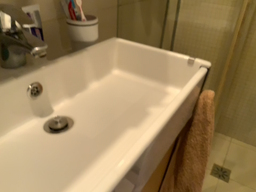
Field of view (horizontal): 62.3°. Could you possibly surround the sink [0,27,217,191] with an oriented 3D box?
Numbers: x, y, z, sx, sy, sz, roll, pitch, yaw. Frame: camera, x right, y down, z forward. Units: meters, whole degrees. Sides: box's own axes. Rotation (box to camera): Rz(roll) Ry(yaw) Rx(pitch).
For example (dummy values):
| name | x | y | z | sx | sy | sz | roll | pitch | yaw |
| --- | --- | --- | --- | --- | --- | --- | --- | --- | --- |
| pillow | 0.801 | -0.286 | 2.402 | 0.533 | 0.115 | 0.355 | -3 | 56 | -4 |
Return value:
| name | x | y | z | sx | sy | sz | roll | pitch | yaw |
| --- | --- | --- | --- | --- | --- | --- | --- | --- | --- |
| sink | -0.120 | 0.020 | 0.440 | 0.420 | 0.130 | 0.650 | 21 | 36 | 25 |
